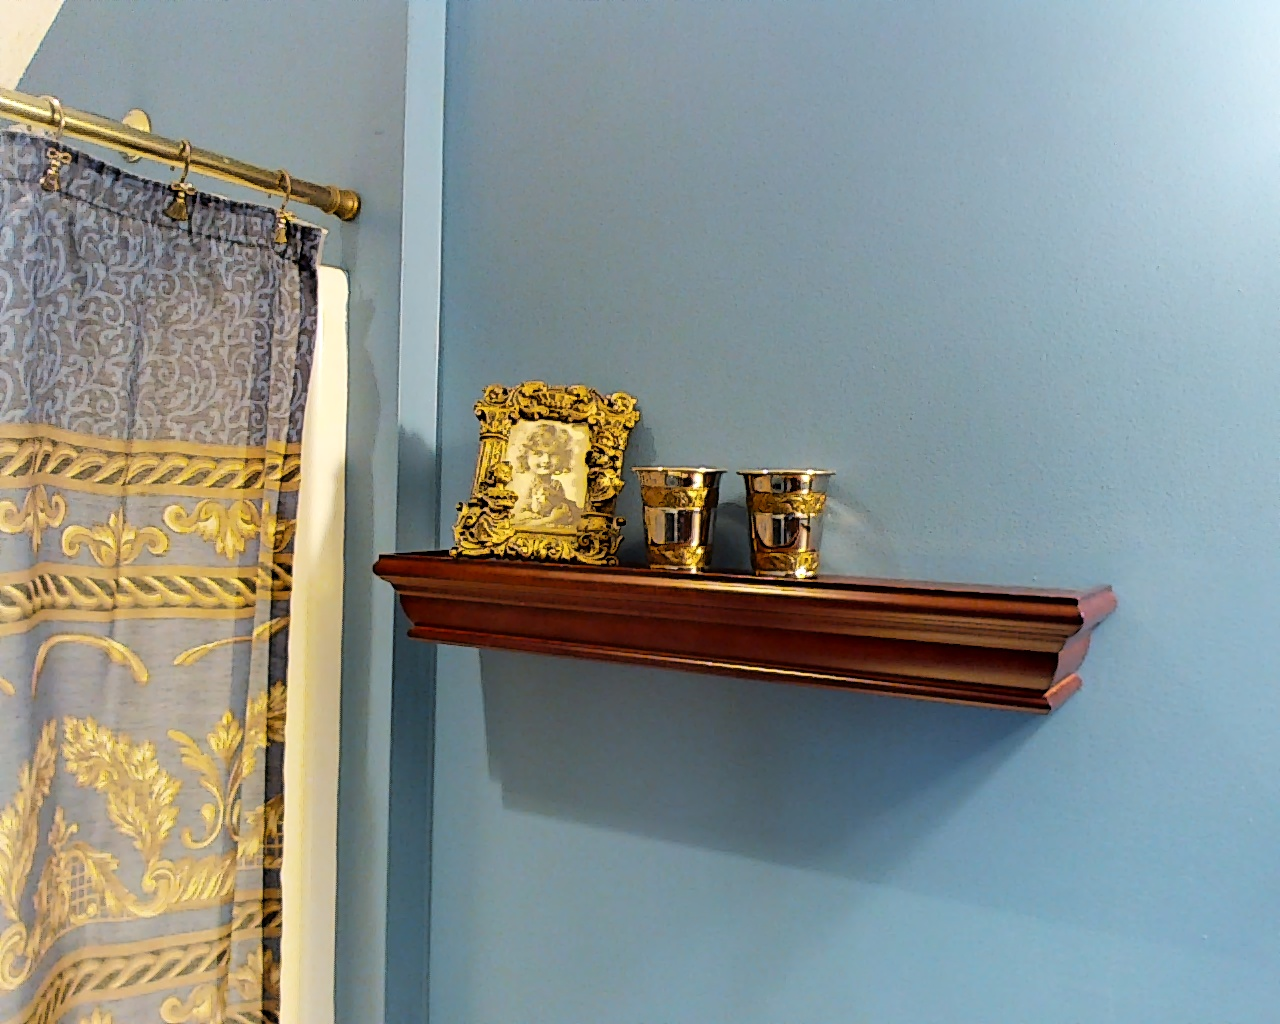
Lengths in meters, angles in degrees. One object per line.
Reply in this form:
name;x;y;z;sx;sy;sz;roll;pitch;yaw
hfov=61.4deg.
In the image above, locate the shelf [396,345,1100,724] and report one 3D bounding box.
shelf;0.060;0.010;0.890;0.570;0.240;0.140;1;0;31
